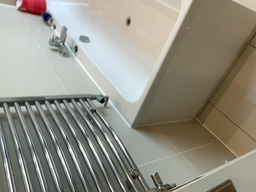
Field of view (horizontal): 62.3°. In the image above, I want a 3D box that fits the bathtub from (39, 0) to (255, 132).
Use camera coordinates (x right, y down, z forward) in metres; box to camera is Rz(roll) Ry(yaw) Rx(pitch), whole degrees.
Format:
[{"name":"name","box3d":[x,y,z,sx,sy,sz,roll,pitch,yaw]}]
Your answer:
[{"name":"bathtub","box3d":[-0.100,-0.620,1.580,1.690,0.550,0.710,49,128,37]}]
